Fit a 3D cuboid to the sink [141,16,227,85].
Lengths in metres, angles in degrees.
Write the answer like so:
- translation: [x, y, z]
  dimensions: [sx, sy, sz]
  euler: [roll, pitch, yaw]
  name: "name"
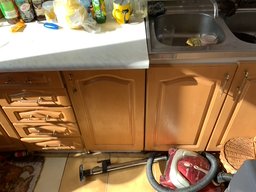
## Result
- translation: [0.270, -0.270, 1.190]
  dimensions: [0.380, 0.170, 0.430]
  euler: [-1, 43, 3]
  name: "sink"
